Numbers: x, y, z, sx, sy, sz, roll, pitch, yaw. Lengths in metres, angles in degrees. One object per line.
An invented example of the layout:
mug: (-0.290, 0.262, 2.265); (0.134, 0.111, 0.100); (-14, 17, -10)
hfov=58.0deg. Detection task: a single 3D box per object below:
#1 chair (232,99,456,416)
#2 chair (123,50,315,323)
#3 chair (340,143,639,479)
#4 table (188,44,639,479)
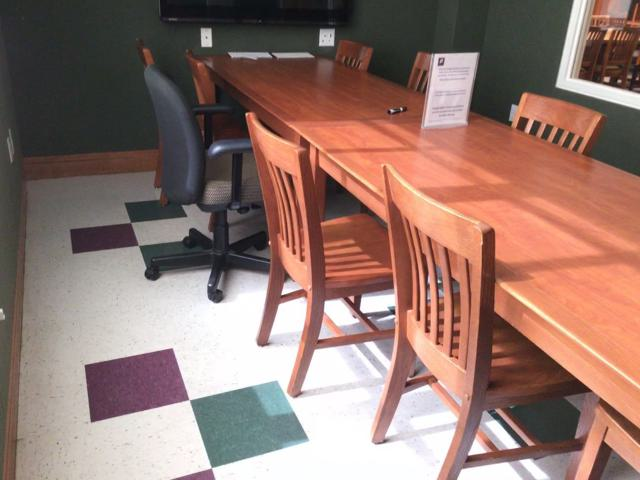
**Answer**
chair: (0.040, 0.030, 1.970); (0.530, 0.880, 0.500); (-9, 28, -21)
chair: (-0.450, -0.280, 2.520); (0.610, 0.940, 0.720); (-9, 28, -21)
chair: (0.440, 0.290, 1.460); (0.540, 0.880, 0.620); (-9, 28, -21)
table: (0.300, -0.180, 2.510); (1.000, 0.800, 3.640); (-9, 28, -21)
